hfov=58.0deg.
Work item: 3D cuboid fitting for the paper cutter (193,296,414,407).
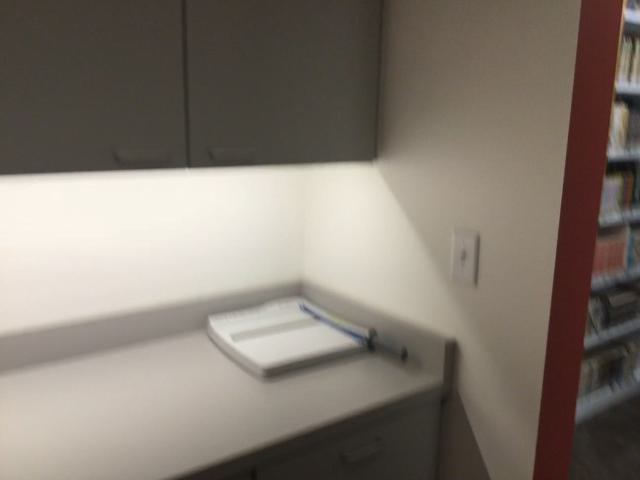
[{"bbox_3d":[-0.060,0.260,1.490,0.350,0.060,0.490,-9,13,-36],"label":"paper cutter"}]
